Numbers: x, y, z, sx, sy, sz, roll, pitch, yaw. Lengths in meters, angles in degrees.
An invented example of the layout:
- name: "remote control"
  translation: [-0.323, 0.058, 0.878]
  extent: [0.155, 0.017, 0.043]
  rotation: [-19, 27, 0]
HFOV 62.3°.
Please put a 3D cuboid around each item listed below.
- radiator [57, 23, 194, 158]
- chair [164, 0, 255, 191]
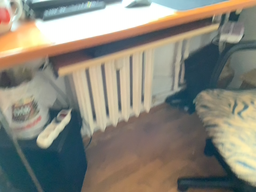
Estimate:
- name: "radiator"
  translation: [0.010, -0.040, 1.290]
  extent: [0.700, 0.620, 0.210]
  rotation: [-20, 41, -23]
- name: "chair"
  translation: [0.540, 0.100, 0.810]
  extent: [0.600, 1.010, 0.560]
  rotation: [-3, 37, -3]
